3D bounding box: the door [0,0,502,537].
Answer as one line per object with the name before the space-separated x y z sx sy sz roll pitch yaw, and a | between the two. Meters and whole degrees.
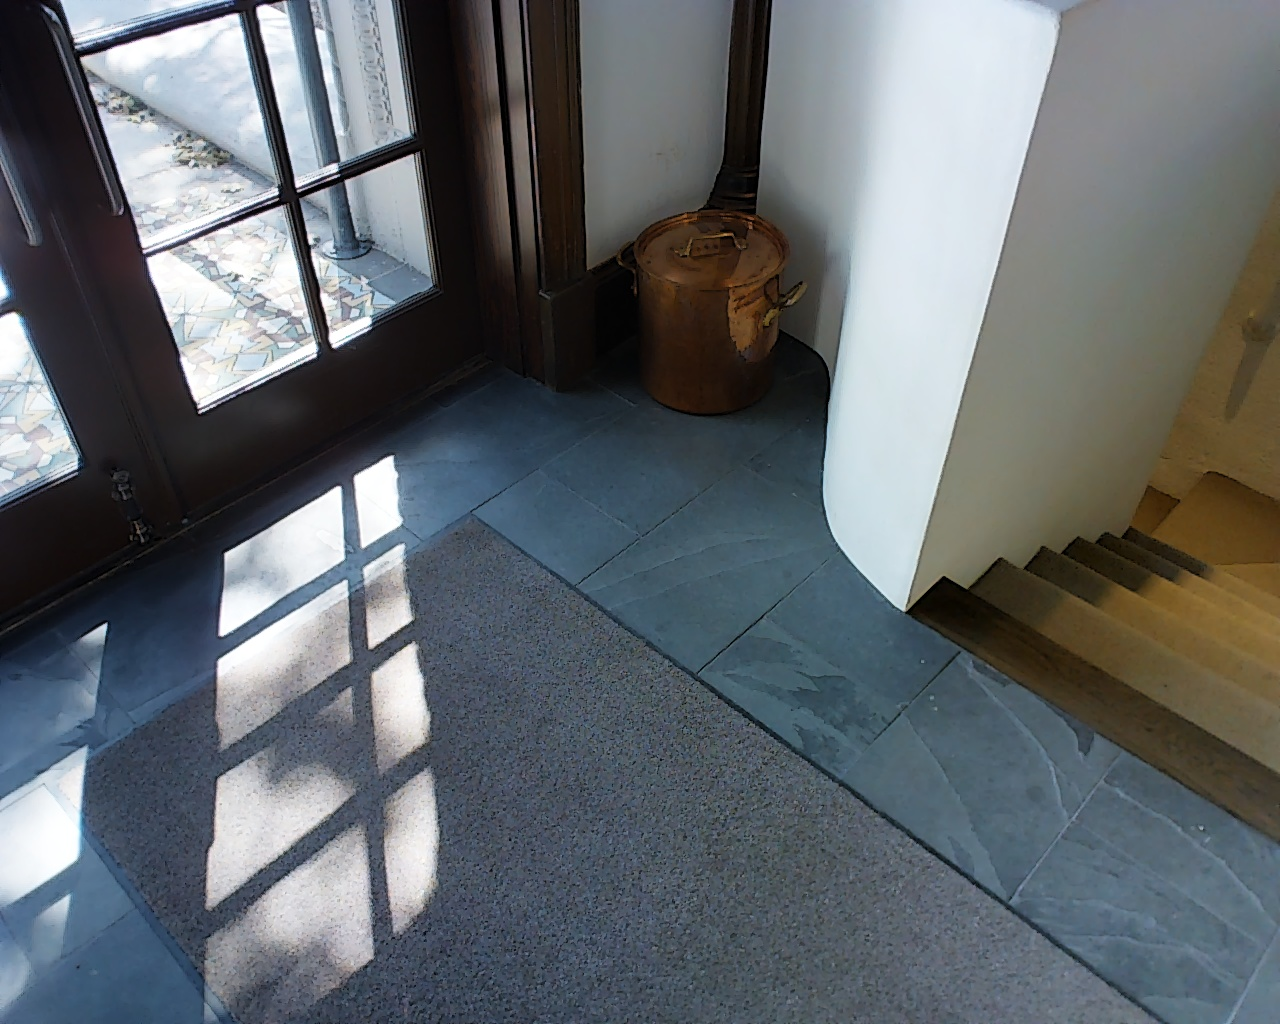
door | -0.640 -0.930 1.660 0.050 2.060 0.870 33 52 30
